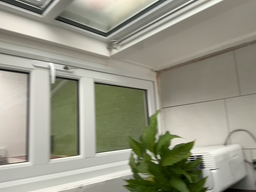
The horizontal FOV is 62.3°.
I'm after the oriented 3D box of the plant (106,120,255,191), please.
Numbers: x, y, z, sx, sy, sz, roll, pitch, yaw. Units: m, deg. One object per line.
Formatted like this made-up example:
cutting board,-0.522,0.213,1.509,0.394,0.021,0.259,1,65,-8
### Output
plant,0.340,0.360,1.110,0.420,0.820,0.450,-6,82,45
